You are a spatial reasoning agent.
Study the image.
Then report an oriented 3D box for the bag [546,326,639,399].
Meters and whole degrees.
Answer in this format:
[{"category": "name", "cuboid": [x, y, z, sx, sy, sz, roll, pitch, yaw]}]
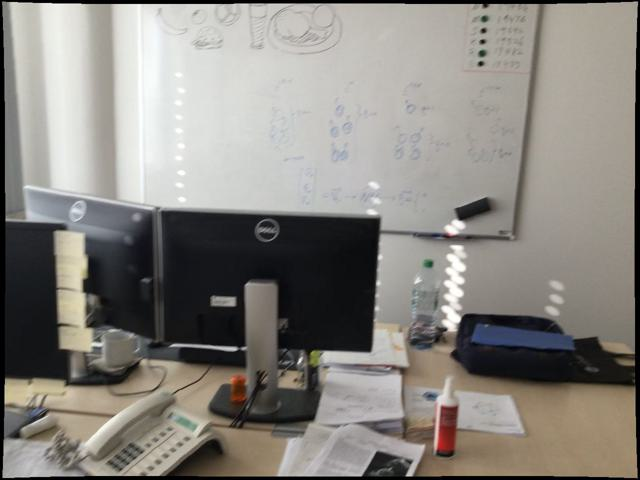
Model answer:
[{"category": "bag", "cuboid": [0.919, 0.380, 1.810, 0.330, 0.070, 0.320, 4, 15, 8]}]
